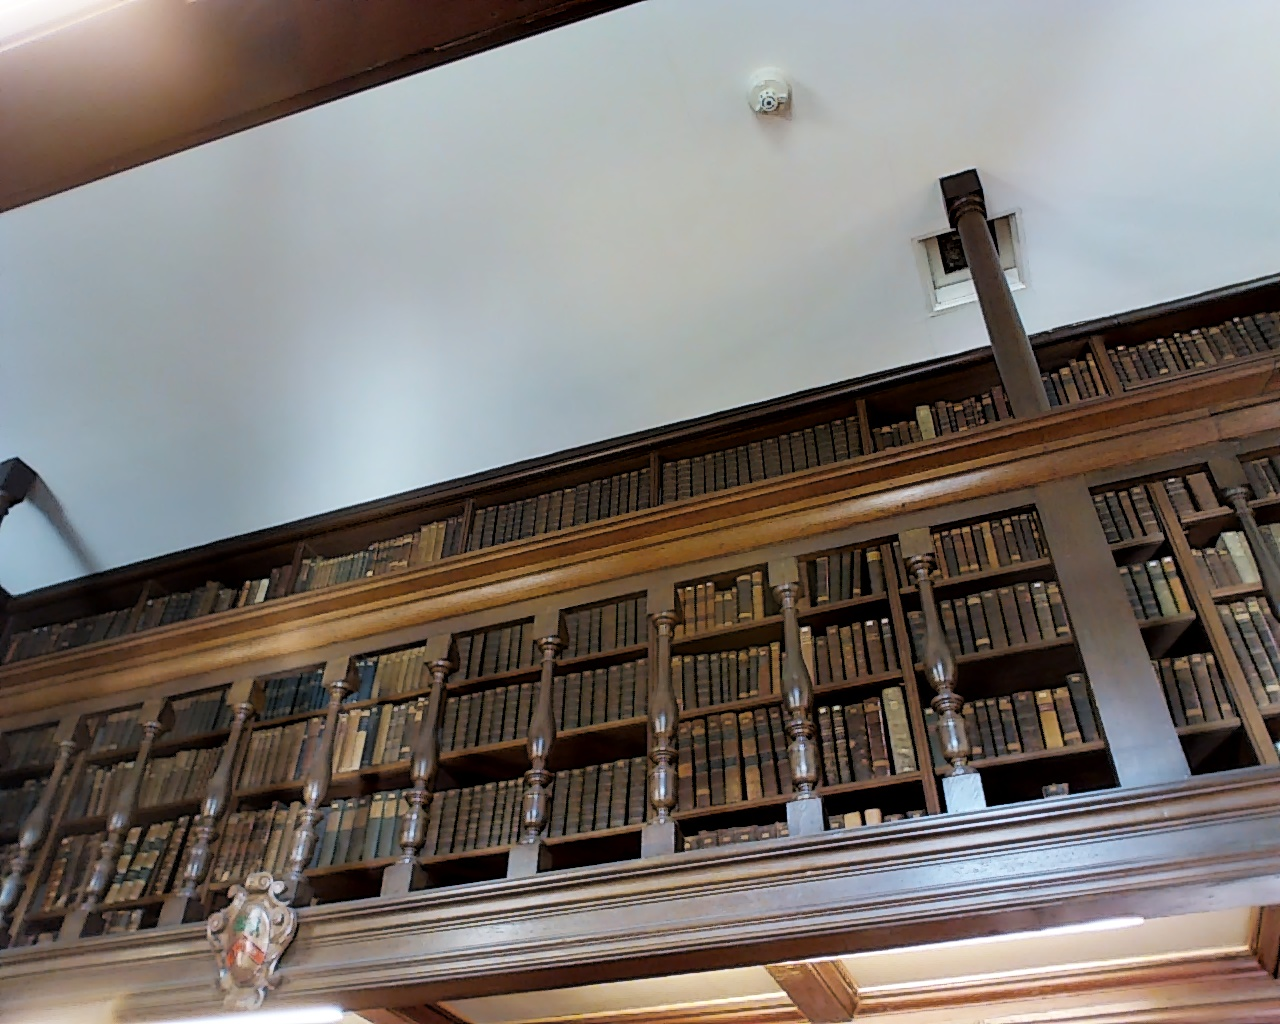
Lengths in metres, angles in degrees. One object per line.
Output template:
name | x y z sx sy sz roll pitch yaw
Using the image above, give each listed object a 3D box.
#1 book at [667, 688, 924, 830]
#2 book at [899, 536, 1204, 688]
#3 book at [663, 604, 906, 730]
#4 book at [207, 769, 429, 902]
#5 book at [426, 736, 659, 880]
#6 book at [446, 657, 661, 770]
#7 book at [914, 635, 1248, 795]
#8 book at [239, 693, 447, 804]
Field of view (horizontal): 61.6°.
book | 0.440 0.730 3.160 0.720 0.270 0.130 -13 -44 16
book | 1.190 0.300 3.160 0.790 0.250 0.160 -13 -44 16
book | 0.440 0.490 3.370 0.730 0.220 0.140 -14 -44 16
book | -1.070 1.080 3.580 0.720 0.310 0.110 -14 -44 16
book | -0.300 0.930 3.360 0.710 0.300 0.150 -14 -44 16
book | -0.290 0.680 3.600 0.720 0.220 0.120 -14 -44 16
book | 1.180 0.560 2.940 0.790 0.270 0.150 -13 -44 15
book | -1.050 0.840 3.800 0.730 0.240 0.120 -14 -44 16
